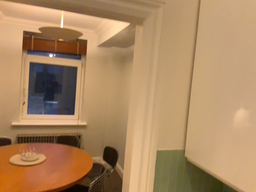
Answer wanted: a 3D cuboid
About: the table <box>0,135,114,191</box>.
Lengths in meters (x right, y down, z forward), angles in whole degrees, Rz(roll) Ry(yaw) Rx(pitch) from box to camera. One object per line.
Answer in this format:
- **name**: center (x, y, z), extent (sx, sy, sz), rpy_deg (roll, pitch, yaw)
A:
- **table**: center (-1.260, 1.130, 2.750), extent (1.590, 0.740, 1.820), rpy_deg (3, 5, -24)
